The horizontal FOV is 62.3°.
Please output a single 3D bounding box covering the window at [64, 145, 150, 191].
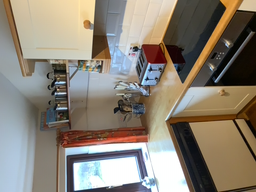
[{"bbox_3d":[-0.210,0.950,2.150,0.120,0.830,0.830,107,156,-50],"label":"window"}]
